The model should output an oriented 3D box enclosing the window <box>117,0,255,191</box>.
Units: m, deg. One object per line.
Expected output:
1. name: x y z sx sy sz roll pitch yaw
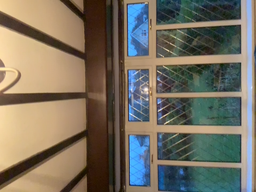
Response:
1. window: 0.770 -0.070 2.890 0.040 1.850 2.880 4 -95 -81
